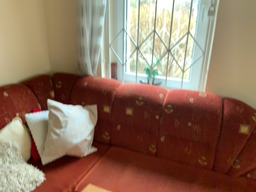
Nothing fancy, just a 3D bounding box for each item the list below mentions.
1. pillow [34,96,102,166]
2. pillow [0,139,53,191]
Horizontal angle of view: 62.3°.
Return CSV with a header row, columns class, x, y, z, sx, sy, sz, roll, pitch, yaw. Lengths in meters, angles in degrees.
class,x,y,z,sx,sy,sz,roll,pitch,yaw
pillow,-0.430,0.240,1.630,0.290,0.330,0.410,9,22,20
pillow,-0.750,0.510,1.330,0.320,0.110,0.420,41,29,7
